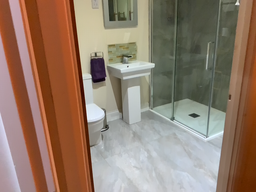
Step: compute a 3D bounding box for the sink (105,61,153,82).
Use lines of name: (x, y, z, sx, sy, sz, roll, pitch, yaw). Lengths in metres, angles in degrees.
sink: (0.010, -0.360, 2.950, 0.520, 0.150, 0.420, -12, 22, -27)
